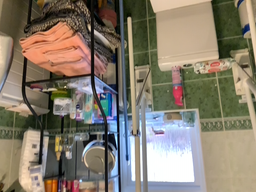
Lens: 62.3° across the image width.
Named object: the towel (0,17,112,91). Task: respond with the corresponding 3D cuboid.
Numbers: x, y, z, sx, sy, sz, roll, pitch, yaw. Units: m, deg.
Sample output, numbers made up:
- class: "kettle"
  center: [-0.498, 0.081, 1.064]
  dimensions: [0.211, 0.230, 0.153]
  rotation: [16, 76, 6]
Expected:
- class: "towel"
  center: [-0.380, -0.200, 1.220]
  dimensions: [0.450, 0.190, 0.460]
  rotation: [-5, 166, 14]
